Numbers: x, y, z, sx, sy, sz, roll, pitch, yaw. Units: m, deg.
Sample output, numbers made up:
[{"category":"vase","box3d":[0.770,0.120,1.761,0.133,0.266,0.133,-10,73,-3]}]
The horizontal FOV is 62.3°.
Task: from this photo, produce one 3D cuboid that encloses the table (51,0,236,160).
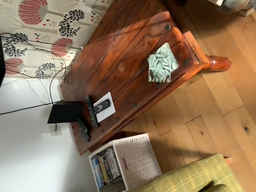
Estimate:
[{"category":"table","box3d":[-0.060,-0.120,1.450,1.190,0.400,0.680,-41,62,41]}]
